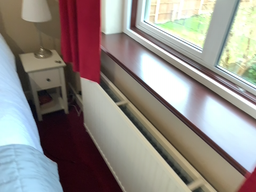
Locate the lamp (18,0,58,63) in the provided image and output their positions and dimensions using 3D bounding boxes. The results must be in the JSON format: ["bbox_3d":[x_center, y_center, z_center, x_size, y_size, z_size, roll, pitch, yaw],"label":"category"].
[{"bbox_3d":[-0.740,-0.600,1.740,0.180,0.560,0.280,-18,41,-29],"label":"lamp"}]
